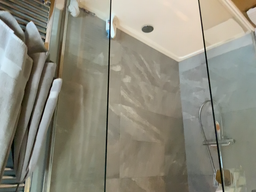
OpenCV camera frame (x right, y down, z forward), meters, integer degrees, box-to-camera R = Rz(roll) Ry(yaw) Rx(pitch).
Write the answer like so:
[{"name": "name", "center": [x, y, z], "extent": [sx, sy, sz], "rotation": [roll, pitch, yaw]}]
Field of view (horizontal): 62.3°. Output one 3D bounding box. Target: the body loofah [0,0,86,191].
[{"name": "body loofah", "center": [-0.550, 0.210, 1.080], "extent": [0.470, 1.570, 0.330], "rotation": [17, 156, -42]}]
